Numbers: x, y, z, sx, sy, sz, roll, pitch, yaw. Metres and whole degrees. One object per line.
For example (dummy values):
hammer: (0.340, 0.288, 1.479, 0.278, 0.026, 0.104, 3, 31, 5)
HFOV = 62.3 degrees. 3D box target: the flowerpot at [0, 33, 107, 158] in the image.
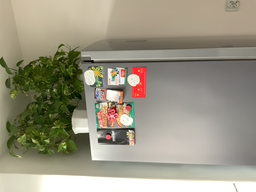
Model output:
flowerpot: (-0.540, -0.040, 1.510, 0.550, 0.640, 0.710, -76, -15, -66)
